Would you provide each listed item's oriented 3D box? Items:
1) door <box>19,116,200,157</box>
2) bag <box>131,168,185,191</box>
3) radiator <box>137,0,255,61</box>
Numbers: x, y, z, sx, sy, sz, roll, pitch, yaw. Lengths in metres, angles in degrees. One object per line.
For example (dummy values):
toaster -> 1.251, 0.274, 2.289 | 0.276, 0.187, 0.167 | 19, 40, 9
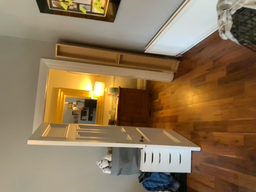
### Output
door -> -0.230, 0.540, 2.970 | 1.040, 2.120, 0.150 | -148, 64, -75
bag -> 0.430, 1.300, 3.170 | 0.560, 0.630, 0.330 | 142, 133, -72
radiator -> 0.800, -0.840, 2.450 | 2.380, 0.740, 0.140 | 155, 120, -75
